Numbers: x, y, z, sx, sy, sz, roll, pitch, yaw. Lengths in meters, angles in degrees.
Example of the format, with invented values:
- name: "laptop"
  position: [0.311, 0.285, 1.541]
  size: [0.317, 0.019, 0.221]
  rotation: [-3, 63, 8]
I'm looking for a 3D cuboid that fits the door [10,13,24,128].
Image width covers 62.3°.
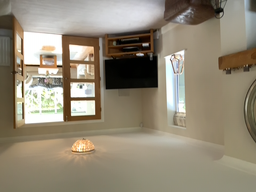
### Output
- name: "door"
  position: [-2.130, -0.430, 4.100]
  size: [0.090, 1.990, 0.900]
  rotation: [-1, 179, -19]

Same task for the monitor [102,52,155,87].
- name: "monitor"
  position: [0.000, -0.600, 4.910]
  size: [1.220, 0.760, 0.070]
  rotation: [0, 178, 13]
